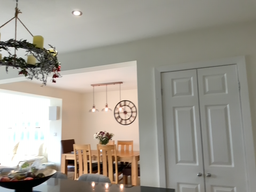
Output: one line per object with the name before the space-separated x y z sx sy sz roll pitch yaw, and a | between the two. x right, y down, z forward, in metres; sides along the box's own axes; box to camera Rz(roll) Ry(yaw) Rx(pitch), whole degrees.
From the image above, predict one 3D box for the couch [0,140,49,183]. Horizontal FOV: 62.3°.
couch | -3.330 1.730 5.880 2.100 0.920 0.880 -4 -8 23
